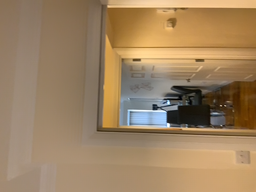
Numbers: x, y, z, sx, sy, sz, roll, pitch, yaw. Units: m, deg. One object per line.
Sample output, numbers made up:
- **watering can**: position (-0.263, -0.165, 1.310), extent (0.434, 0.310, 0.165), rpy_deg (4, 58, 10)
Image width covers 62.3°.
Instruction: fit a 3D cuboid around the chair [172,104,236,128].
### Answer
- **chair**: position (1.470, 0.380, 4.250), extent (0.590, 1.080, 0.400), rpy_deg (0, -88, -87)
